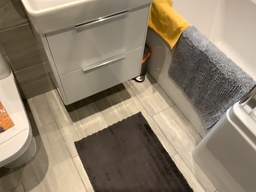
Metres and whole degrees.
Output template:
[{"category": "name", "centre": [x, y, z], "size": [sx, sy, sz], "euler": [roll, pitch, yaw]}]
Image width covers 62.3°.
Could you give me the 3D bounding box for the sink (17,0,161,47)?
[{"category": "sink", "centre": [-0.190, -0.480, 0.950], "size": [0.570, 0.130, 0.390], "euler": [-24, 61, -19]}]

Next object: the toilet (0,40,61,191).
[{"category": "toilet", "centre": [-0.690, 0.070, 1.020], "size": [0.370, 0.820, 0.600], "euler": [-24, 61, -19]}]
